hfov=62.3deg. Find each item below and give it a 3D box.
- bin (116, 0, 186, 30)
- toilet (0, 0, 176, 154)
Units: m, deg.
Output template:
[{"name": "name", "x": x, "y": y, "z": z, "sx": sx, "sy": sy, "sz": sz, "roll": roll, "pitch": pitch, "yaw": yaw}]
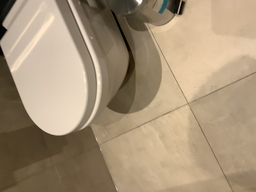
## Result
[{"name": "bin", "x": 0.080, "y": -0.350, "z": 0.760, "sx": 0.130, "sy": 0.240, "sz": 0.140, "roll": -31, "pitch": 80, "yaw": 34}, {"name": "toilet", "x": -0.170, "y": -0.140, "z": 0.860, "sx": 0.390, "sy": 0.450, "sz": 0.520, "roll": -31, "pitch": 80, "yaw": 34}]
